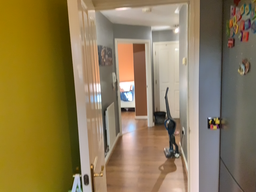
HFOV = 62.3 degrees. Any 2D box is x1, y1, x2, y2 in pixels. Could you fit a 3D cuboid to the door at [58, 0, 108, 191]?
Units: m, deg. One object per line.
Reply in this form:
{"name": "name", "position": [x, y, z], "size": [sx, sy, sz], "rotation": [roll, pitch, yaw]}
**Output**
{"name": "door", "position": [-0.230, 0.330, 1.400], "size": [0.070, 1.950, 0.770], "rotation": [-3, 9, 0]}
